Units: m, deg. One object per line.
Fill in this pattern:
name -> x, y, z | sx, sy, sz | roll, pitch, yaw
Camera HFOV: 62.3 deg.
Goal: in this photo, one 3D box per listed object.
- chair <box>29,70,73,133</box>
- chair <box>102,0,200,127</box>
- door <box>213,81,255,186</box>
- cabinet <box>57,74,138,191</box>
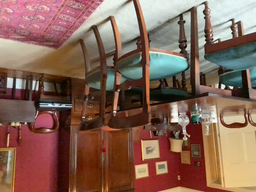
chair -> -1.230, 0.120, 3.390 | 0.500, 0.900, 0.590 | 4, 169, -36
chair -> 0.160, -0.220, 1.630 | 0.520, 0.890, 0.480 | 6, 168, -42
door -> 2.120, 0.680, 4.090 | 0.740, 1.960, 0.040 | -2, 171, -2
cabinet -> -0.530, 0.780, 3.780 | 1.270, 2.100, 0.570 | 5, 168, -36
